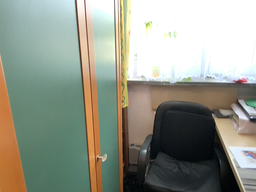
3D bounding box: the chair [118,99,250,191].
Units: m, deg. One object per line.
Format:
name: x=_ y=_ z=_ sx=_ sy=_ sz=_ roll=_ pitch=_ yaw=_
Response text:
chair: x=0.400 y=0.570 z=1.620 sx=0.690 sy=0.840 sz=0.760 roll=5 pitch=20 yaw=18
